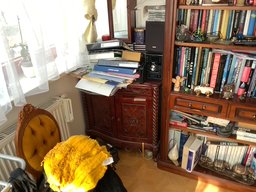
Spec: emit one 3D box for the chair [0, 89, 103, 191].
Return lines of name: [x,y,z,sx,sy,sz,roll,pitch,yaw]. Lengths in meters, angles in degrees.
chair: [-0.470,0.500,1.320,0.410,0.940,0.440,10,31,21]

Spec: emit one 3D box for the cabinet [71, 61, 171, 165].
cabinet: [-0.050,0.140,2.100,0.820,0.790,0.390,11,31,22]

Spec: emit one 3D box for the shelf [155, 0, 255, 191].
shelf: [0.740,-0.240,1.450,0.970,2.040,0.430,11,31,22]
